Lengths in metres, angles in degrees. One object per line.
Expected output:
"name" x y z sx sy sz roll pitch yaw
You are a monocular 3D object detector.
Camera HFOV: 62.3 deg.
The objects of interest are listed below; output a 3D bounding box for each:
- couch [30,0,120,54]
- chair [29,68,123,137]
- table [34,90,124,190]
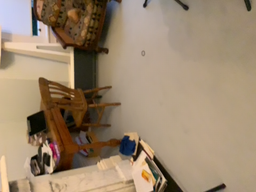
"couch" -0.730 -1.130 2.760 0.900 0.800 0.780 46 126 45
"chair" -0.640 0.070 2.560 0.550 0.880 0.520 -58 46 37
"table" -0.700 0.480 2.780 1.060 0.740 0.640 48 128 44
